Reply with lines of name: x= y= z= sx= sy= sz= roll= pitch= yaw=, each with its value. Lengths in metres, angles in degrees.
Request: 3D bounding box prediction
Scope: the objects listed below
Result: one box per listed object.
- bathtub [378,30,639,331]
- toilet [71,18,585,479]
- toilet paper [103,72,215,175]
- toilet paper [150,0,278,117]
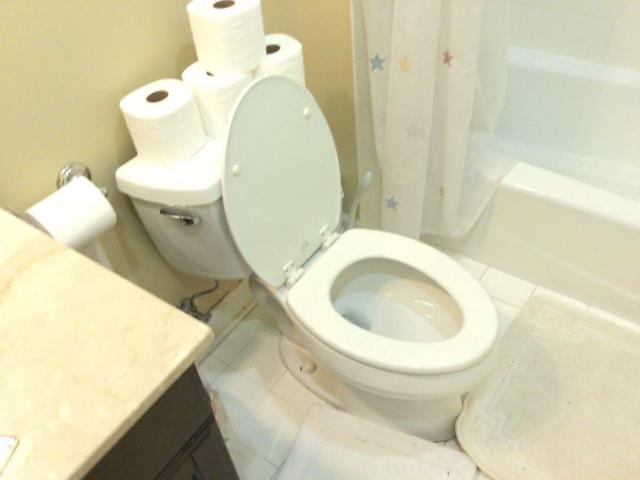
bathtub: x=0.980 y=-0.150 z=1.650 sx=1.420 sy=0.370 sz=0.750 roll=23 pitch=53 yaw=30
toilet: x=0.040 y=0.060 z=1.280 sx=0.750 sy=0.810 sz=0.490 roll=23 pitch=53 yaw=30
toilet paper: x=-0.310 y=-0.230 z=1.130 sx=0.120 sy=0.120 sz=0.140 roll=23 pitch=53 yaw=30
toilet paper: x=-0.200 y=-0.370 z=1.130 sx=0.140 sy=0.170 sz=0.160 roll=23 pitch=53 yaw=30
